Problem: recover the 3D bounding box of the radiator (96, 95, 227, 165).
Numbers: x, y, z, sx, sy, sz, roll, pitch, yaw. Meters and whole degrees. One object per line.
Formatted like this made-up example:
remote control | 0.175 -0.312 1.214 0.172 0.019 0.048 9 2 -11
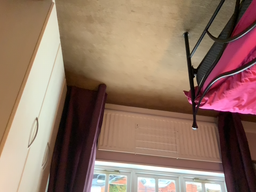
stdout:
radiator | 0.420 0.420 2.680 1.560 0.760 0.080 7 148 -7
